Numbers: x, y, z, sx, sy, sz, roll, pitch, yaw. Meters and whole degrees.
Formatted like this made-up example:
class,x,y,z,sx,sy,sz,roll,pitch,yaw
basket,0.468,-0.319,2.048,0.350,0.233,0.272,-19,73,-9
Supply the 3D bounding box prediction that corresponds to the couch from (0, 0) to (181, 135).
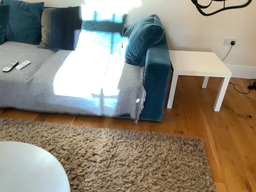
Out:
class,x,y,z,sx,sy,sz,roll,pitch,yaw
couch,-1.310,-0.530,2.410,3.490,0.860,1.350,6,33,3
